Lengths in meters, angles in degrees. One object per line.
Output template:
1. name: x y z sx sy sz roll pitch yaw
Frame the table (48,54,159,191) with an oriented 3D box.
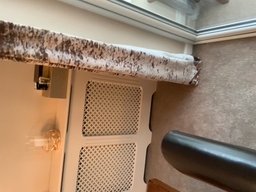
1. table: -0.160 0.340 1.850 0.120 0.940 1.230 6 91 53
